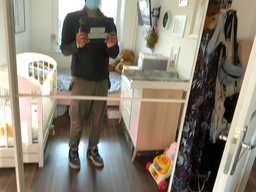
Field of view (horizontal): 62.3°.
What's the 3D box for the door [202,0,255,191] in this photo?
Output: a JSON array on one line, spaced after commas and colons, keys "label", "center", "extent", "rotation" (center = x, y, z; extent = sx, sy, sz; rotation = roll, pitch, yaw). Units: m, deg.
[{"label": "door", "center": [0.630, 0.230, 1.160], "extent": [0.080, 2.030, 0.820], "rotation": [21, 23, 36]}]
